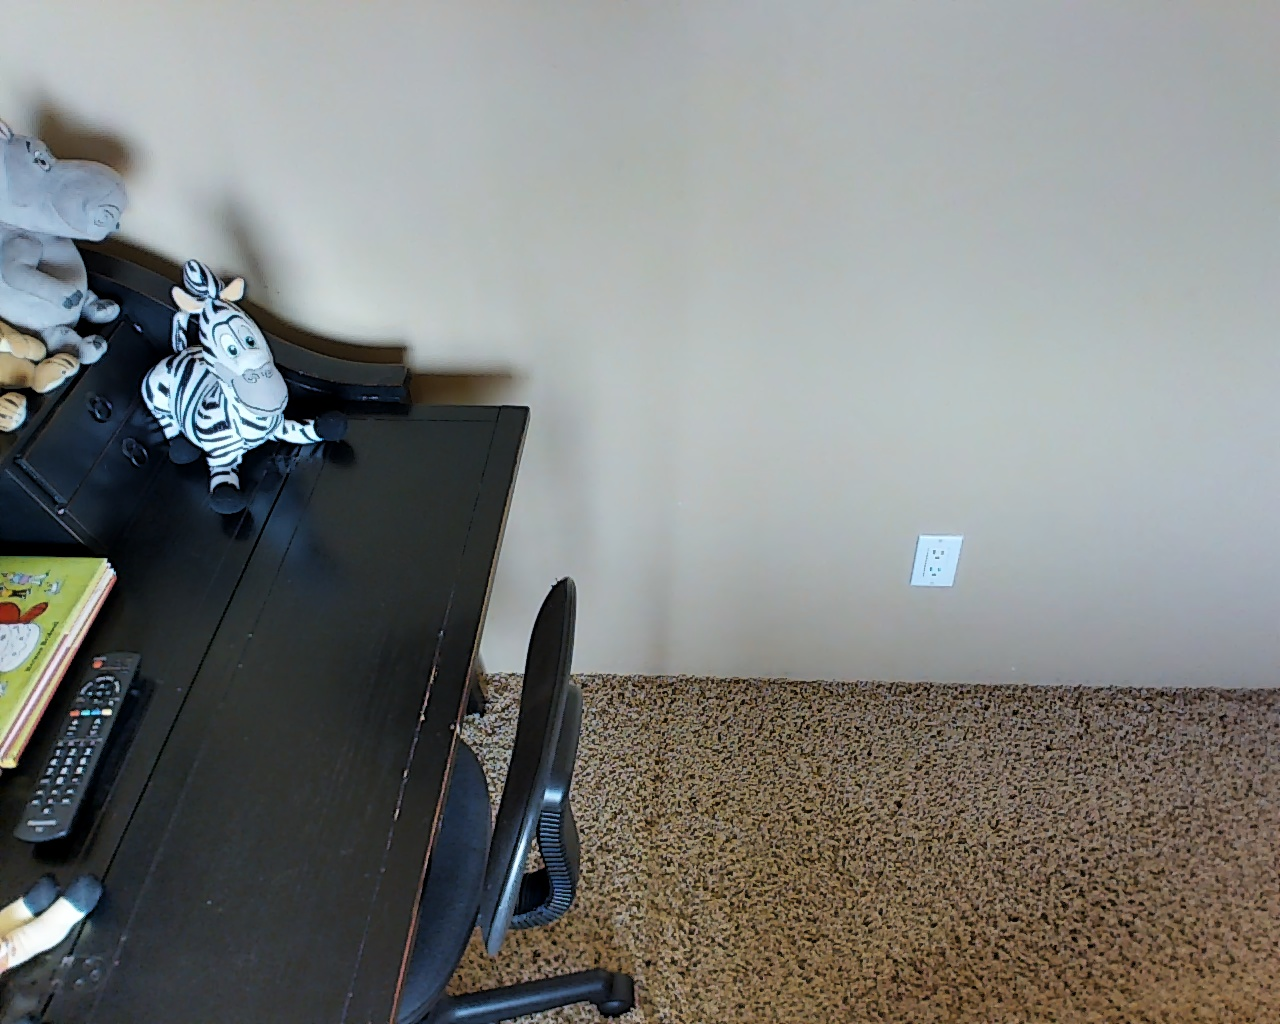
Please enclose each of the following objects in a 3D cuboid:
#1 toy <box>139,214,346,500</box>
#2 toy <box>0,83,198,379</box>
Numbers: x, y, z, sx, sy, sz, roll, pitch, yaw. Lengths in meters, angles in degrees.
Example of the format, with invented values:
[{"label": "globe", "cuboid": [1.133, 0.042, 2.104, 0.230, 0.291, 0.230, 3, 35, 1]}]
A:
[{"label": "toy", "cuboid": [-0.460, -0.180, 1.250, 0.080, 0.260, 0.210, -31, 49, -27]}, {"label": "toy", "cuboid": [-0.650, -0.330, 1.270, 0.150, 0.280, 0.150, -15, 43, -12]}]
